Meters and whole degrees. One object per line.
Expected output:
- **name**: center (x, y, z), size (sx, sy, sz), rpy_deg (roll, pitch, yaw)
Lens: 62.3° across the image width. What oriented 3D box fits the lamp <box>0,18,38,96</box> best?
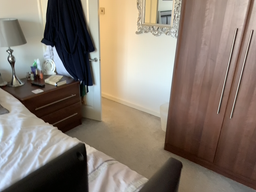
- **lamp**: center (-1.250, -0.420, 2.180), size (0.340, 0.690, 0.380), rpy_deg (19, 29, 33)
